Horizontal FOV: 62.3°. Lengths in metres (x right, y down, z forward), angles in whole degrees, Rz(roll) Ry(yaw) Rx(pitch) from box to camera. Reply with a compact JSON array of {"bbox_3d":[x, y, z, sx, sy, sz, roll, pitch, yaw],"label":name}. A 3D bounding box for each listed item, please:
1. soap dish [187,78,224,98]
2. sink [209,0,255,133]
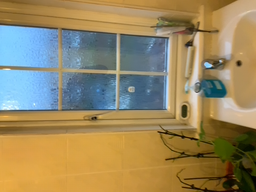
[{"bbox_3d":[0.370,-0.040,1.020,0.100,0.130,0.090,-165,75,-74],"label":"soap dish"},{"bbox_3d":[0.550,-0.140,0.900,0.420,0.150,0.560,-169,79,-74],"label":"sink"}]
